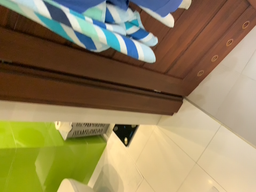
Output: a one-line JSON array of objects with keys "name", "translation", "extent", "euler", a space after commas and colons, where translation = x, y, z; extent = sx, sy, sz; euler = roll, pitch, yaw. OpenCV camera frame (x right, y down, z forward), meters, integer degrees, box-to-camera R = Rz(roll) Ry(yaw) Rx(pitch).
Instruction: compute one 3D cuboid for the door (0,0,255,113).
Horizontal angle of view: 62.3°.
[{"name": "door", "translation": [-0.140, -0.370, 0.780], "extent": [1.020, 1.970, 0.100], "euler": [-52, 50, 27]}]
